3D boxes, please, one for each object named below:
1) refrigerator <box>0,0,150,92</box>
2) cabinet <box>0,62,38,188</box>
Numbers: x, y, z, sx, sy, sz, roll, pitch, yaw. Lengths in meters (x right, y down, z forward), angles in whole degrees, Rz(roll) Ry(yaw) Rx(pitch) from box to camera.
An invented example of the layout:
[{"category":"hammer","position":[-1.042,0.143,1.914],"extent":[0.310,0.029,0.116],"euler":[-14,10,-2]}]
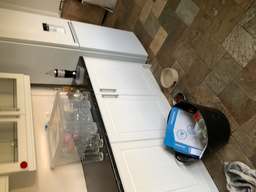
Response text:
[{"category":"refrigerator","position":[-0.720,-0.520,2.510],"extent":[0.670,1.790,0.560],"euler":[-59,41,39]},{"category":"cabinet","position":[-1.230,0.180,1.730],"extent":[0.310,0.800,1.090],"euler":[-59,41,39]}]
